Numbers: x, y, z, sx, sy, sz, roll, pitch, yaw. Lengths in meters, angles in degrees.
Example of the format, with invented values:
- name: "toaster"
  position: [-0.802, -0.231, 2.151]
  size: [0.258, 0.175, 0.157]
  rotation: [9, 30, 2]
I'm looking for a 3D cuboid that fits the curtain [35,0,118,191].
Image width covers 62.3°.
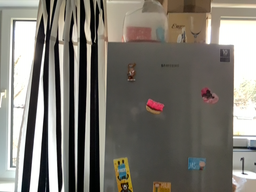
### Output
- name: "curtain"
  position: [-0.350, -0.100, 1.510]
  size: [0.500, 1.670, 0.190]
  rotation: [2, 0, 4]
